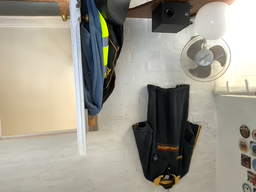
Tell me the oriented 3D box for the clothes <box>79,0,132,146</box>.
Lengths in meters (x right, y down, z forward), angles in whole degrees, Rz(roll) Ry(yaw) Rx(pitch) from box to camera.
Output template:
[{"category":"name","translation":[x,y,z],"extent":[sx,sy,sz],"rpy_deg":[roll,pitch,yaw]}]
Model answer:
[{"category":"clothes","translation":[-0.160,-0.200,1.270],"extent":[0.220,0.850,0.510],"rpy_deg":[-3,-177,-13]}]
